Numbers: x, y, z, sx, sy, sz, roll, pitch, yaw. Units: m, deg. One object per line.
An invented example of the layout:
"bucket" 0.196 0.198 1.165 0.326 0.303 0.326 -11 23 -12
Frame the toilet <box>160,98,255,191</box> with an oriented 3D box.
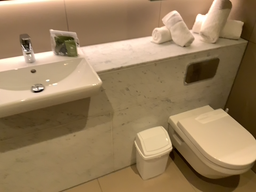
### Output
"toilet" 0.570 0.360 1.490 0.420 0.360 0.540 -14 40 -20
